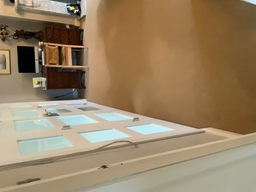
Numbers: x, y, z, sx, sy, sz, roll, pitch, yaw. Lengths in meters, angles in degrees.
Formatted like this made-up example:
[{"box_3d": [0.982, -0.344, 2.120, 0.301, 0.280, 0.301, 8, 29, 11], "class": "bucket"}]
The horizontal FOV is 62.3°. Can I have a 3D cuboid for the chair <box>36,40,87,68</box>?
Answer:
[{"box_3d": [-1.300, -0.790, 4.130, 0.510, 0.840, 0.410, 1, 94, 59], "class": "chair"}]
